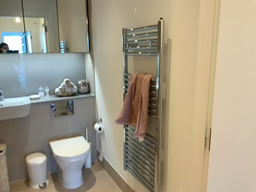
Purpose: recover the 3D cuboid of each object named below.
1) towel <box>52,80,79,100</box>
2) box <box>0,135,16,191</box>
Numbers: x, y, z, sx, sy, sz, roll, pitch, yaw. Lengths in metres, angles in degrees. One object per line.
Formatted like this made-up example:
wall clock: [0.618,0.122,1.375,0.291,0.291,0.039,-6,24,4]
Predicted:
towel: [-0.760,-0.080,2.580,0.270,0.190,0.190,-7,14,-29]
box: [-1.340,0.710,2.060,0.390,0.510,0.310,-7,14,-27]
